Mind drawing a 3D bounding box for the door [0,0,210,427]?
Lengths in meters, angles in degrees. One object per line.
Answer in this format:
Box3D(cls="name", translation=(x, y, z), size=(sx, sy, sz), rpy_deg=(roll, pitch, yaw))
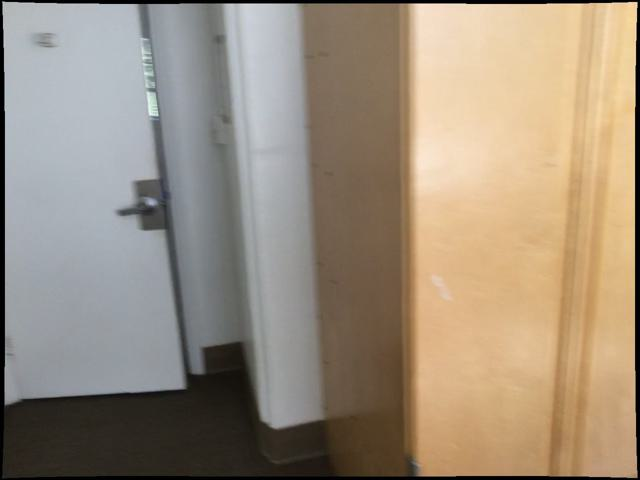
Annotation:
Box3D(cls="door", translation=(-1.127, -0.080, 2.590), size=(0.958, 1.844, 0.240), rpy_deg=(-6, 16, -1))
